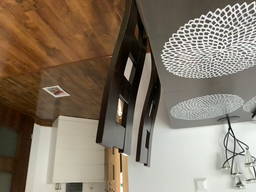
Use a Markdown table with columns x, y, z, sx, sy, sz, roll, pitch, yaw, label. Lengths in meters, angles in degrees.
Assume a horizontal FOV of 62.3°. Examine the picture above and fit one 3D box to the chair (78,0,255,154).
| x | y | z | sx | sy | sz | roll | pitch | yaw | label |
| --- | --- | --- | --- | --- | --- | --- | --- | --- | --- |
| 0.180 | -0.330 | 0.930 | 0.590 | 1.030 | 0.420 | -11 | 155 | 18 | chair |
